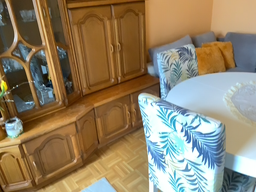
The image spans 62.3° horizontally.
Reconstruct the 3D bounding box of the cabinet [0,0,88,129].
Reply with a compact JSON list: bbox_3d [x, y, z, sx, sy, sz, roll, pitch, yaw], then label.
[{"bbox_3d":[-0.900,-0.680,1.550,0.870,1.700,0.450,-21,31,-32],"label":"cabinet"}]

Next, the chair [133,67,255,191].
[{"bbox_3d":[0.400,0.410,1.270,0.580,0.990,0.390,-21,31,-32],"label":"chair"}]

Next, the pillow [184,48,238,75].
[{"bbox_3d":[1.130,-0.490,2.880,0.640,0.280,0.350,-10,24,-36],"label":"pillow"}]

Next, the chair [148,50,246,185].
[{"bbox_3d":[0.540,0.150,1.850,0.420,0.930,0.590,-21,31,-32],"label":"chair"}]
